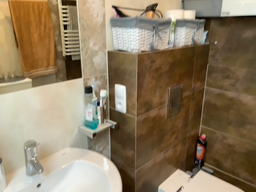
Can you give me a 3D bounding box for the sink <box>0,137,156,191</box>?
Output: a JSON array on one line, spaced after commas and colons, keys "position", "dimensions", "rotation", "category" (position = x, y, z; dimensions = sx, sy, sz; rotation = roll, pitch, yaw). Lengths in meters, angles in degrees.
[{"position": [-0.260, 0.420, 0.820], "dimensions": [0.480, 0.170, 0.570], "rotation": [16, 24, 40], "category": "sink"}]
